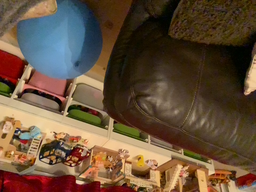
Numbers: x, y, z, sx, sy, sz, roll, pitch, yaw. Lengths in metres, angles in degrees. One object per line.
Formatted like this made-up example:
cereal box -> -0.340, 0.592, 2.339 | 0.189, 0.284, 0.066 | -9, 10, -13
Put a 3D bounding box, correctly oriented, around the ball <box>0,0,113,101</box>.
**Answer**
ball -> -0.380, -0.310, 1.220 | 0.450, 0.400, 0.450 | 14, 139, -13
